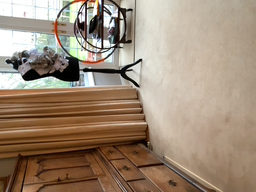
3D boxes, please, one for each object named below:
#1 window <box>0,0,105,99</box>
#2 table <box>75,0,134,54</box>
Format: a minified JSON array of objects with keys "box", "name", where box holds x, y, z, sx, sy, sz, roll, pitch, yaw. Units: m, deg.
[{"box":[-1.420,-1.170,2.660,0.870,2.060,2.410,180,89,-68],"name":"window"},{"box":[-0.370,-1.070,3.190,0.480,0.770,0.760,-172,82,-67],"name":"table"}]
